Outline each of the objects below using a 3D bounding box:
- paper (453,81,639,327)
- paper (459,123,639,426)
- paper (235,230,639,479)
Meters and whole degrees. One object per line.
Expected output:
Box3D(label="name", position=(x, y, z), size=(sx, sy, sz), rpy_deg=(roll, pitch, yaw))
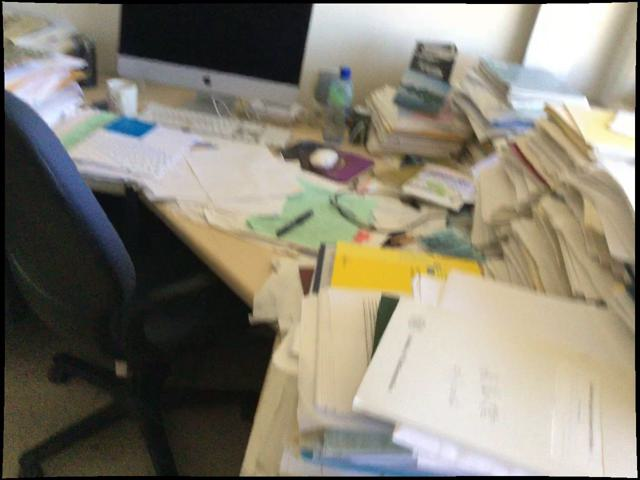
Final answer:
Box3D(label="paper", position=(0.569, -0.080, 1.140), size=(0.509, 0.311, 0.400), rpy_deg=(8, 29, 3))
Box3D(label="paper", position=(0.459, 0.040, 0.890), size=(0.389, 0.291, 0.370), rpy_deg=(8, 29, 3))
Box3D(label="paper", position=(0.150, 0.190, 0.690), size=(0.419, 0.190, 0.390), rpy_deg=(8, 29, 3))
